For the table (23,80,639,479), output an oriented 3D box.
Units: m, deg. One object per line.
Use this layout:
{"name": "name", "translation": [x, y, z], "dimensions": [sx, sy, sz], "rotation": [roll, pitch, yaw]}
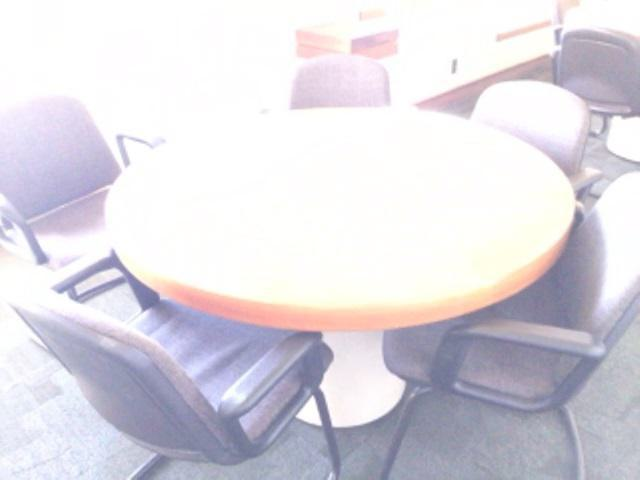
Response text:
{"name": "table", "translation": [0.070, 0.130, 1.760], "dimensions": [1.250, 0.780, 1.220], "rotation": [-27, 38, -36]}
